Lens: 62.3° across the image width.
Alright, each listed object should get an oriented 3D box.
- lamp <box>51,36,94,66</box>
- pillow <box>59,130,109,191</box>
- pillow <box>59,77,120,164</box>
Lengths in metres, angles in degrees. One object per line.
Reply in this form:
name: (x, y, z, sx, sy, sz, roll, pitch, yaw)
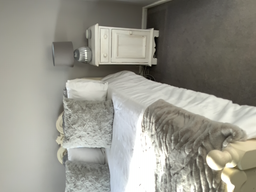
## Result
lamp: (-0.590, -0.470, 2.250, 0.290, 0.400, 0.280, -150, 60, -65)
pillow: (-0.520, 0.850, 2.430, 0.530, 0.460, 0.720, -152, 62, -65)
pillow: (-0.440, 0.180, 2.190, 0.790, 0.450, 0.640, -149, 59, -65)
